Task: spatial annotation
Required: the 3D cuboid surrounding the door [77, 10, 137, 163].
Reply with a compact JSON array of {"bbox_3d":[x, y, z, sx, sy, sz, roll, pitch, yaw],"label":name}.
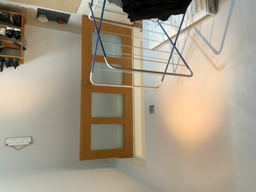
[{"bbox_3d":[-0.290,-0.150,3.030,0.810,2.070,0.130,2,173,-23],"label":"door"}]
